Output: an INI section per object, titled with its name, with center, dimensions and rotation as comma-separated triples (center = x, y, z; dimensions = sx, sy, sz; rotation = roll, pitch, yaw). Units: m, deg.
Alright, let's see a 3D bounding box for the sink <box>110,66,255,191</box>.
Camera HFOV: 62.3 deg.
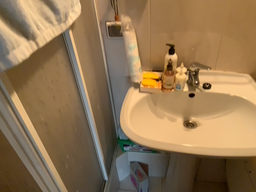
[sink]
center = 0.290, 0.120, 0.960
dimensions = 0.630, 0.280, 0.490
rotation = 2, 40, 8
